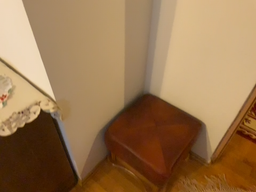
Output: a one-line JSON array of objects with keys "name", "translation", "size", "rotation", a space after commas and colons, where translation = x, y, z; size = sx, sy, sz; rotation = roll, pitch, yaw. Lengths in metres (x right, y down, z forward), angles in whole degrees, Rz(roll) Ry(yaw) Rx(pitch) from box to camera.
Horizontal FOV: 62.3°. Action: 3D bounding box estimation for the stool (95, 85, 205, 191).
[{"name": "stool", "translation": [0.120, 0.280, 1.290], "size": [0.430, 0.390, 0.420], "rotation": [31, 53, 25]}]
